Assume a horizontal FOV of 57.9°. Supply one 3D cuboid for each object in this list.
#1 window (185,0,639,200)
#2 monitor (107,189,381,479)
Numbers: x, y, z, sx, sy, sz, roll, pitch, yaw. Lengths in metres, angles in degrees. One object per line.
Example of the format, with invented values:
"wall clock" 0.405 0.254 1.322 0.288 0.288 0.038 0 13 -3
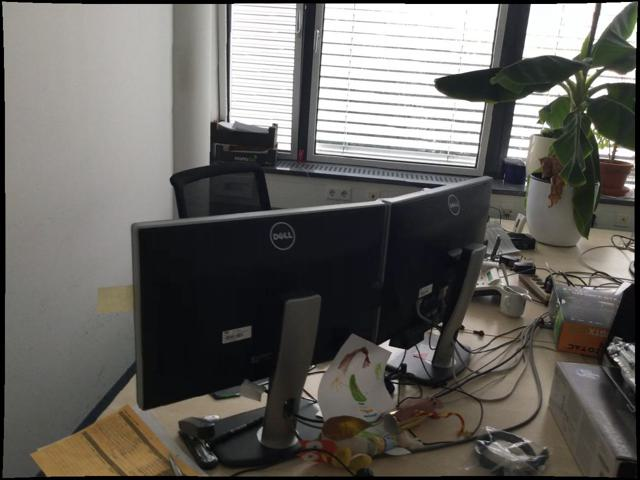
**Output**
"window" 1.029 -1.001 3.300 3.437 1.321 0.710 4 19 5
"monitor" -0.140 0.170 1.210 0.510 0.470 0.180 -11 23 -34
